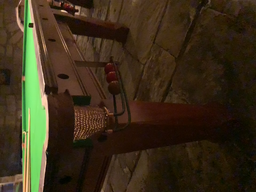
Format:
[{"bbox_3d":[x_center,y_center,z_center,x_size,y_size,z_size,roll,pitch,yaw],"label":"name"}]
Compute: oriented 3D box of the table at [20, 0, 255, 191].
[{"bbox_3d":[-0.590,-0.090,2.180,3.110,0.880,1.730,55,136,49],"label":"table"}]
